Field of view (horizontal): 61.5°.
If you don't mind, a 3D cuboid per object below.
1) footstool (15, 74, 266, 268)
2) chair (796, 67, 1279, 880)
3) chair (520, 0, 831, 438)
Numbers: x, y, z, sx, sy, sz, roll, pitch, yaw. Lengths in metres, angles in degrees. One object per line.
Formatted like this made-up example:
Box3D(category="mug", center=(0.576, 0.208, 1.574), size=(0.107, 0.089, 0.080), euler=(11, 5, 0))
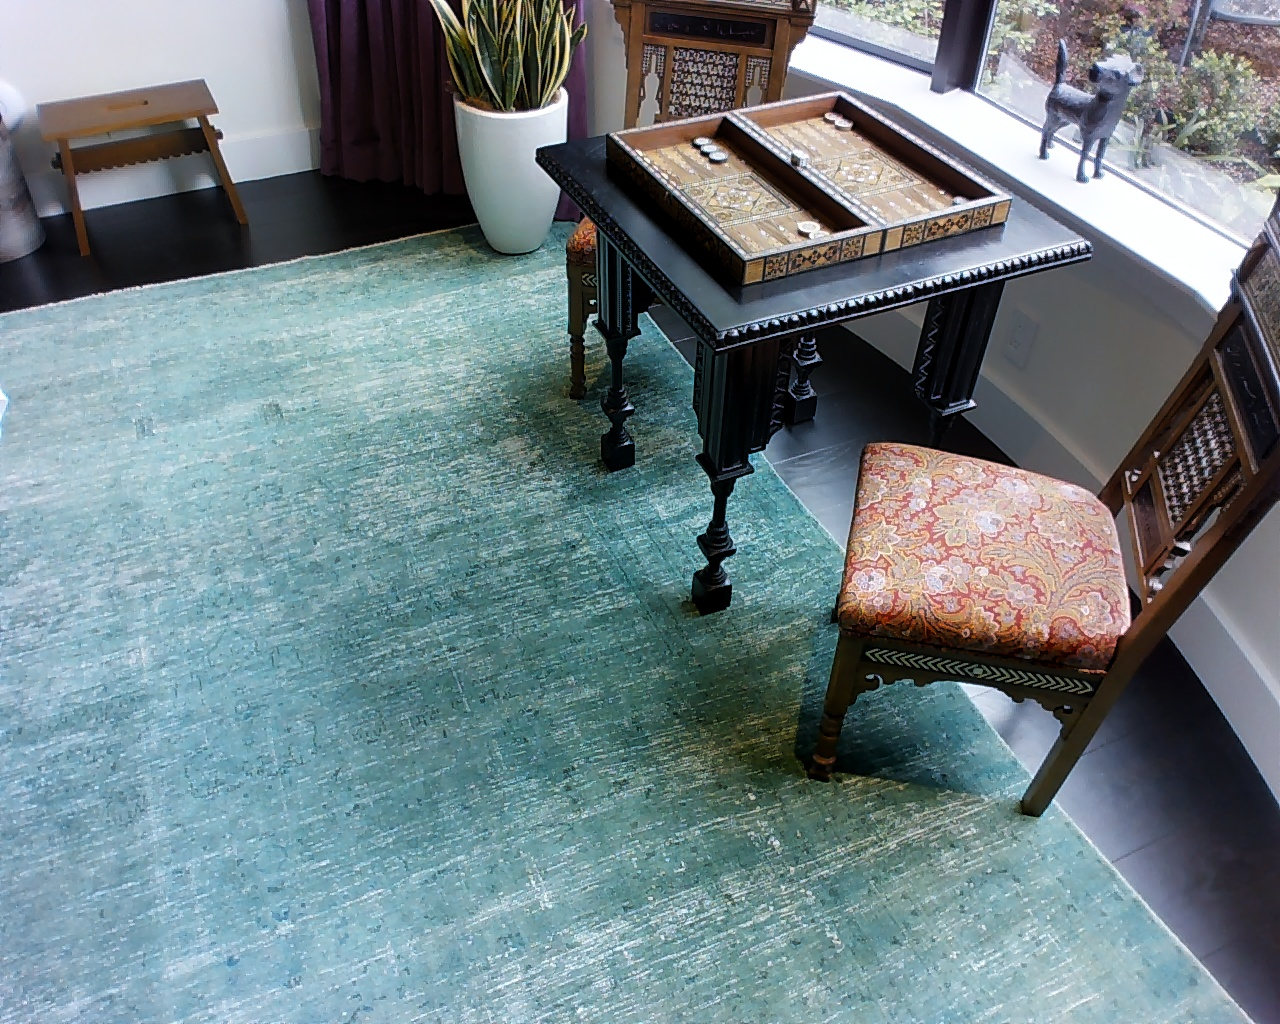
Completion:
Box3D(category="footstool", center=(-1.470, -1.020, 3.190), size=(0.570, 0.360, 0.330), euler=(-17, 45, -18))
Box3D(category="chair", center=(0.630, -0.020, 1.590), size=(0.610, 1.020, 0.490), euler=(12, 43, 13))
Box3D(category="chair", center=(0.100, -0.790, 2.430), size=(0.490, 1.020, 0.590), euler=(13, 43, 13))
